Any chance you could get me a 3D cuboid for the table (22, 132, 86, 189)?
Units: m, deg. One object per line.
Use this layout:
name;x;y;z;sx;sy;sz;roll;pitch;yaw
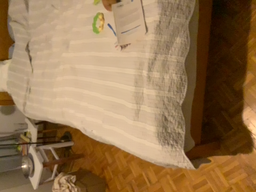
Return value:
table;-0.750;0.620;2.140;0.330;0.470;0.330;34;114;41
